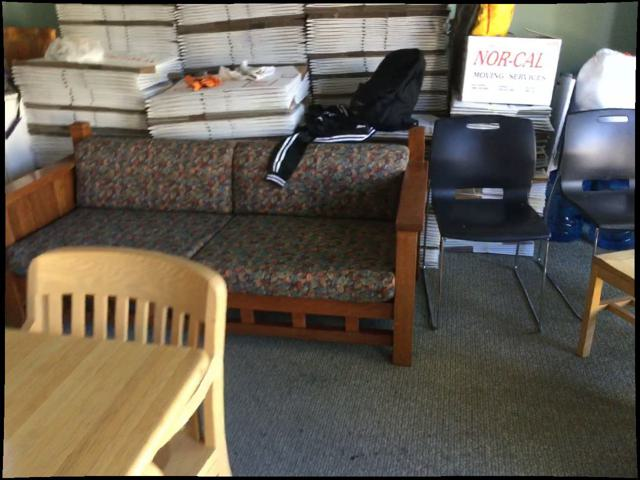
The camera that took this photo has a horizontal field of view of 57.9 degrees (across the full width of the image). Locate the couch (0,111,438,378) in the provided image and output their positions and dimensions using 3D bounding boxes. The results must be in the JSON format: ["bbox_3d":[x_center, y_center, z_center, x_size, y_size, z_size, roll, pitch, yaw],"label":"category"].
[{"bbox_3d":[-0.499,-0.080,2.710,2.008,0.801,0.980,2,27,12],"label":"couch"}]

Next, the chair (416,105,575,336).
[{"bbox_3d":[0.749,-0.110,2.640,0.569,0.871,0.580,2,27,12],"label":"chair"}]

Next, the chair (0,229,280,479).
[{"bbox_3d":[-0.599,0.511,1.430,0.729,0.801,0.700,5,27,17],"label":"chair"}]
